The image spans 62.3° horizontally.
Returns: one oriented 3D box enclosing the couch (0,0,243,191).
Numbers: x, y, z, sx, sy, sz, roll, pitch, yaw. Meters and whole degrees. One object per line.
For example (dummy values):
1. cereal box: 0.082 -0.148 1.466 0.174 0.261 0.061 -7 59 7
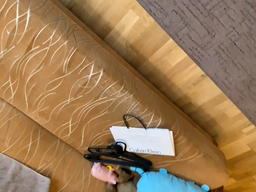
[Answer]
1. couch: -0.440 0.210 1.170 2.050 1.000 1.060 41 123 -17
